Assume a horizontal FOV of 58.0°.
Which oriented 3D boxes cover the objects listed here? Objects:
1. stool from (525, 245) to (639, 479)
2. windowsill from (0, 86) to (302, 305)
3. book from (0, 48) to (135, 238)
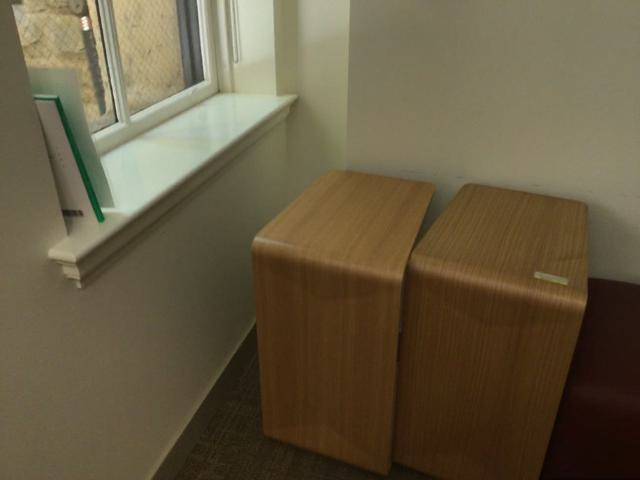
[{"bbox_3d":[0.820,0.380,1.410,0.520,0.460,0.580,10,28,20],"label":"stool"},{"bbox_3d":[-0.340,-0.200,1.440,0.240,0.150,1.090,8,27,16],"label":"windowsill"},{"bbox_3d":[-0.430,-0.170,0.990,0.110,0.280,0.160,8,27,16],"label":"book"}]
